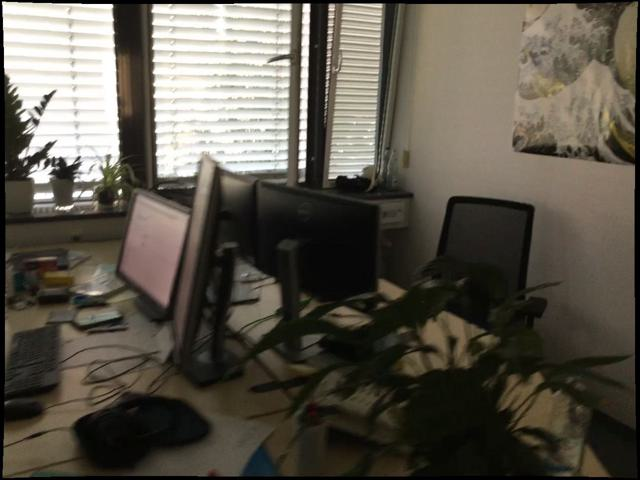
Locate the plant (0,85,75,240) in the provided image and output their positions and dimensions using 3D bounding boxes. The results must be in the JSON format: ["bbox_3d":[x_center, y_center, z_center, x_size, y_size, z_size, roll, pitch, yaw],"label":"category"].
[{"bbox_3d":[-1.528,-0.420,3.010,0.370,0.741,0.360,-8,18,-23],"label":"plant"}]

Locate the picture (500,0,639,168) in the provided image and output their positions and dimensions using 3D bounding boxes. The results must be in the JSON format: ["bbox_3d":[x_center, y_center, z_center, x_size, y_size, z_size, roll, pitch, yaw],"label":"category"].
[{"bbox_3d":[1.279,-0.801,2.350,0.120,0.971,1.350,-8,18,-23],"label":"picture"}]

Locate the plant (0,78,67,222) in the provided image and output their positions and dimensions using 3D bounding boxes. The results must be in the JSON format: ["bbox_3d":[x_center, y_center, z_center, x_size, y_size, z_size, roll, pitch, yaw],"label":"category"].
[{"bbox_3d":[-1.688,-0.480,3.000,0.600,0.691,0.480,-8,18,-23],"label":"plant"}]
